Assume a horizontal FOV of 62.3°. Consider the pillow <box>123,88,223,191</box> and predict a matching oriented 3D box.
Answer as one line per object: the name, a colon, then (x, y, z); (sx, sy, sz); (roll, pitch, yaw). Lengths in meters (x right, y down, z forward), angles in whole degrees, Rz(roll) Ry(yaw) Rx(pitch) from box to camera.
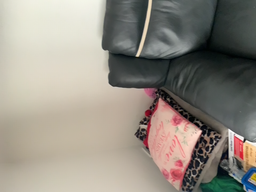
pillow: (0.240, 0.270, 1.470); (0.680, 0.240, 0.470); (36, 124, 58)
